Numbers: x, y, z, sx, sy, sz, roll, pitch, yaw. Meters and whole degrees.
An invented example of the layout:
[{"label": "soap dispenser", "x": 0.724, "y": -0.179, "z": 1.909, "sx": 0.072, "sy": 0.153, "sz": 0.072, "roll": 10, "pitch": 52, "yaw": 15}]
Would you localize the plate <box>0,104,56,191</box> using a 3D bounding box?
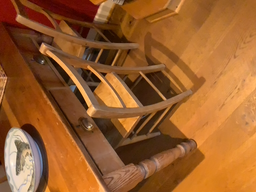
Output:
[{"label": "plate", "x": -0.530, "y": 0.290, "z": 1.060, "sx": 0.330, "sy": 0.090, "sz": 0.370, "roll": 49, "pitch": 122, "yaw": 27}]
